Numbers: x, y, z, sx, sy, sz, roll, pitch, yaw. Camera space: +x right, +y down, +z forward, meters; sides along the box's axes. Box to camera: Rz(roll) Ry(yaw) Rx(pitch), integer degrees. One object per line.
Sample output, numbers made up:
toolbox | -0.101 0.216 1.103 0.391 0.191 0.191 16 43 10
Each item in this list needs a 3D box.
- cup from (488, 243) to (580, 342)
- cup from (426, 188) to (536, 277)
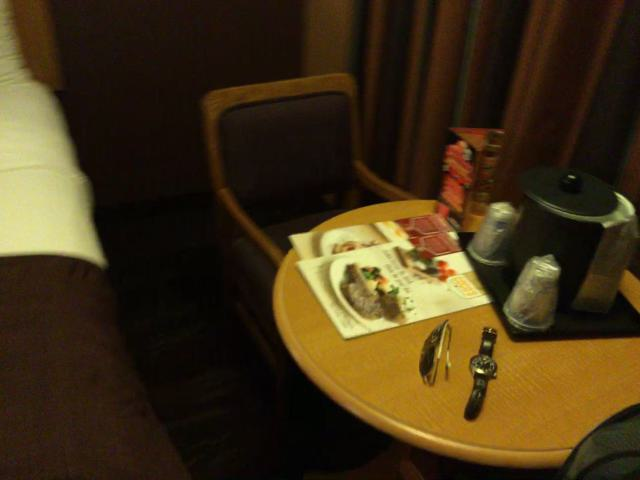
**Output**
cup | 0.370 0.090 1.010 0.090 0.130 0.090 -10 32 -22
cup | 0.320 -0.020 1.170 0.130 0.100 0.160 -10 32 -22
